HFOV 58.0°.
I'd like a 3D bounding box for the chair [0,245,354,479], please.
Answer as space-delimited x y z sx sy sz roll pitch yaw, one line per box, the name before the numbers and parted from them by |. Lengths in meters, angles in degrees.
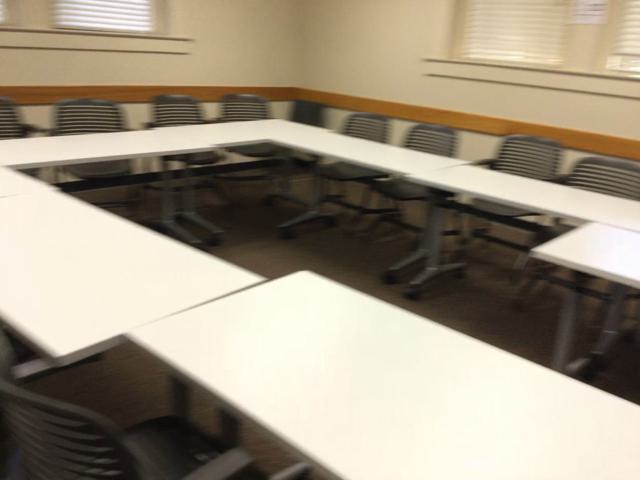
chair | -0.390 0.540 1.210 0.560 0.840 0.640 -9 22 -37
